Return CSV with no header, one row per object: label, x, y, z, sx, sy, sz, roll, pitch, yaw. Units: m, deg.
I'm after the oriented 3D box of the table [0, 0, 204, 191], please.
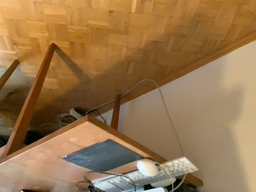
table,-0.610,0.310,1.430,1.860,0.740,0.730,-27,135,29
